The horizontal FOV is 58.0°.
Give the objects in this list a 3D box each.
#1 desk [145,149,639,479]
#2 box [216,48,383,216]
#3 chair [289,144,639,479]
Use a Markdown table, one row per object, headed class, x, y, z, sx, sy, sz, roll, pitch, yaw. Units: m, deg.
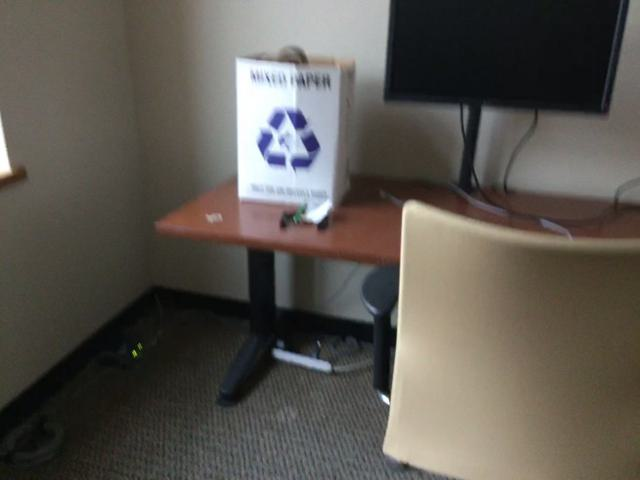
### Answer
| class | x | y | z | sx | sy | sz | roll | pitch | yaw |
| --- | --- | --- | --- | --- | --- | --- | --- | --- | --- |
| desk | 0.380 | 0.230 | 1.760 | 1.530 | 0.750 | 0.800 | 9 | 20 | 19 |
| box | -0.050 | -0.360 | 1.790 | 0.360 | 0.430 | 0.430 | 9 | 20 | 19 |
| chair | 0.370 | 0.350 | 1.240 | 0.680 | 0.960 | 0.620 | 9 | 20 | 18 |
